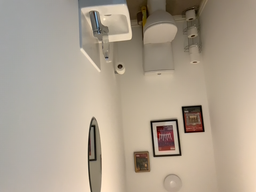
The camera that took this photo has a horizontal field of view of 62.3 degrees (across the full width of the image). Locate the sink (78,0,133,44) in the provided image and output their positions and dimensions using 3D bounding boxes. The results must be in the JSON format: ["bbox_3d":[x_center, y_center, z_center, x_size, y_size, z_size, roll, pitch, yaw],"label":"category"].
[{"bbox_3d":[-0.110,-0.500,1.280,0.240,0.170,0.490,-5,173,4],"label":"sink"}]

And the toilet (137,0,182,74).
[{"bbox_3d":[0.330,-0.720,2.460,0.390,0.770,0.670,-5,172,4],"label":"toilet"}]
